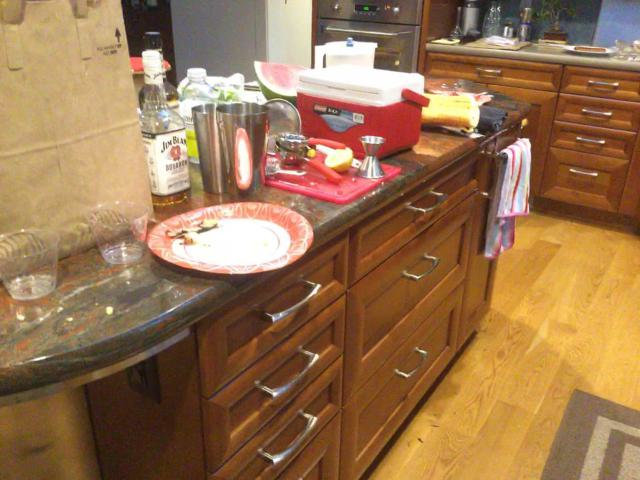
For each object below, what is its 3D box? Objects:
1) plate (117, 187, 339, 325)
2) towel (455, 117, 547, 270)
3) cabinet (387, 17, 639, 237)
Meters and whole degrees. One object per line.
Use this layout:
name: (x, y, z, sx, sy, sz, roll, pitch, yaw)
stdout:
plate: (-0.140, 0.010, 0.910, 0.260, 0.070, 0.220, 18, 31, 31)
towel: (0.570, -0.150, 1.840, 0.170, 0.420, 0.190, 18, 31, 31)
cabinet: (1.010, -0.640, 3.090, 1.320, 0.940, 0.190, 18, 31, 31)
